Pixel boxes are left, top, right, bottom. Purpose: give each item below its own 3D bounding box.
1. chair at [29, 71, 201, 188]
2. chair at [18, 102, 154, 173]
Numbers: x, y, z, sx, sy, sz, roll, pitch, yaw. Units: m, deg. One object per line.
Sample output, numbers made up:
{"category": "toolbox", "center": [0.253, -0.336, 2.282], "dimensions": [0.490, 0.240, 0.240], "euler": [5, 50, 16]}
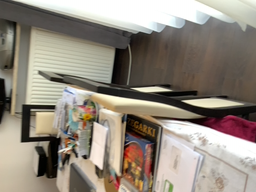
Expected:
{"category": "chair", "center": [-0.050, 0.180, 1.470], "dimensions": [0.390, 1.070, 0.540], "euler": [21, 105, 55]}
{"category": "chair", "center": [-0.360, 0.320, 1.930], "dimensions": [0.470, 1.070, 0.390], "euler": [24, 107, 54]}
